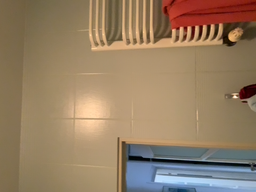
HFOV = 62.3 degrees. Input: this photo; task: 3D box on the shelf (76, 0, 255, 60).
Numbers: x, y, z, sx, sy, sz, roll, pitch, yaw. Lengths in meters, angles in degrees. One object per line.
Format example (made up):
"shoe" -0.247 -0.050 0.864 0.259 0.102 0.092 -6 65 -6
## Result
"shelf" 0.430 -0.560 0.990 0.210 1.330 0.710 13 -103 -79
